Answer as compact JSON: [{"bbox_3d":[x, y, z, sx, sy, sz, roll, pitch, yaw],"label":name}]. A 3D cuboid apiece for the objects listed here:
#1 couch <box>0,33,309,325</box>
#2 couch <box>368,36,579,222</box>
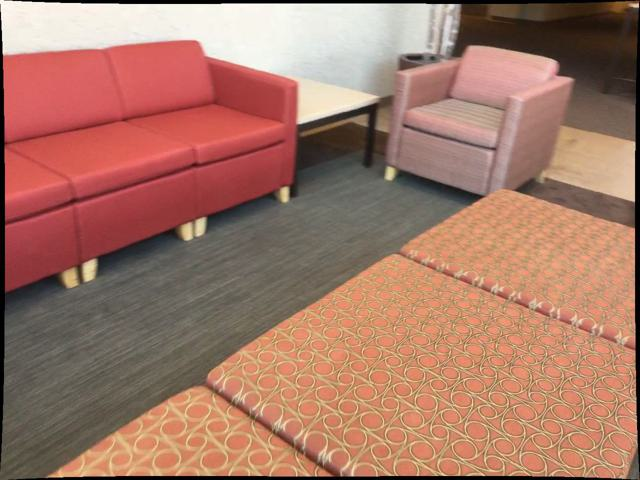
[{"bbox_3d":[-1.028,-0.371,2.510,0.839,0.761,1.939,25,34,34],"label":"couch"},{"bbox_3d":[0.879,-0.701,3.380,0.779,0.771,0.830,25,34,34],"label":"couch"}]
